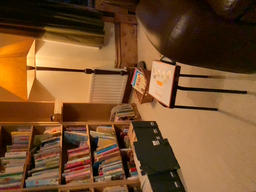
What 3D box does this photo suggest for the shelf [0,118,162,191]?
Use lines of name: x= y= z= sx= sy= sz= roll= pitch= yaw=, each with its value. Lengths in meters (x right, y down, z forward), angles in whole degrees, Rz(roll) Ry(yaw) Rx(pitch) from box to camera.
shelf: x=-0.760 y=0.650 z=2.290 sx=0.860 sy=2.060 sz=0.310 roll=-111 pitch=29 yaw=-49
